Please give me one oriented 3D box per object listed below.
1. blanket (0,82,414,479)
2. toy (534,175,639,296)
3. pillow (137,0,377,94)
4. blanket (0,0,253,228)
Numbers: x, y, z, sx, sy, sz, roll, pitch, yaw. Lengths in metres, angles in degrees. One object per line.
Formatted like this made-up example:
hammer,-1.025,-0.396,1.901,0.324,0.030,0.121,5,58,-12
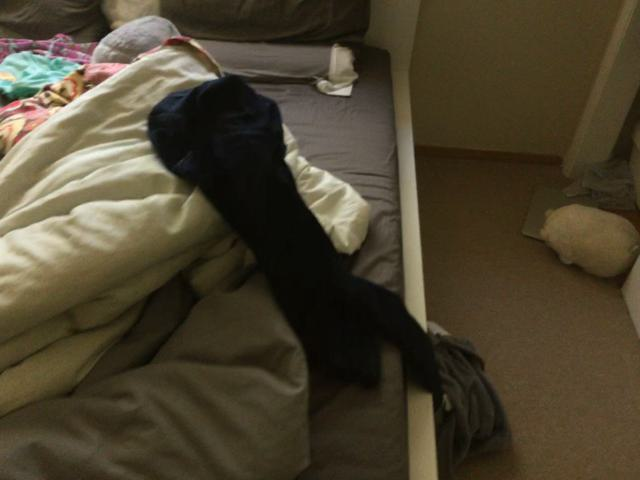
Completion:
blanket,-0.540,0.120,0.840,1.280,0.300,0.900,5,41,1
toy,0.820,-0.020,1.760,0.230,0.190,0.260,20,44,18
pillow,-0.170,-0.610,1.740,0.660,0.180,0.260,5,41,1
blanket,-0.470,-0.310,1.320,0.560,0.310,0.440,5,41,1
